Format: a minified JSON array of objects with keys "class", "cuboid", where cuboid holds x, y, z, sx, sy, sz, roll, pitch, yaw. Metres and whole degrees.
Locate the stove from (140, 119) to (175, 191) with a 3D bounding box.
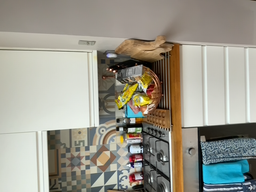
[{"class":"stove","cuboid":[0.190,0.500,1.520,0.550,0.020,0.610,180,89,-74]}]
